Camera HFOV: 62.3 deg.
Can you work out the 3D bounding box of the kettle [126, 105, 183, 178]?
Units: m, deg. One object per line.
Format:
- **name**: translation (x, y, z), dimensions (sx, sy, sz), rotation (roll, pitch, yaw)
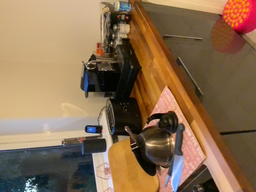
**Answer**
- **kettle**: translation (0.110, 0.220, 1.030), dimensions (0.260, 0.120, 0.240), rotation (112, 150, -45)
